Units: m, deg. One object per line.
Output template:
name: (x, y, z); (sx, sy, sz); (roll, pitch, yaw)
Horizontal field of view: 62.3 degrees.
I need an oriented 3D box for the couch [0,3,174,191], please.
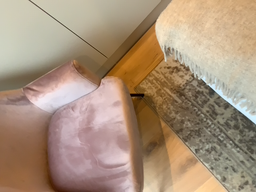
couch: (-0.310, 0.240, 1.050); (0.740, 0.830, 0.710); (-18, 68, 23)
